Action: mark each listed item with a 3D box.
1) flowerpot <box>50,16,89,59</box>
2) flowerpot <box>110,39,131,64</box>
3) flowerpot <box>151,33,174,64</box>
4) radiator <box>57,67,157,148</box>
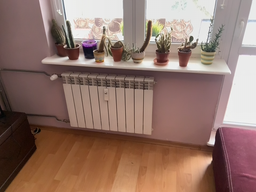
[{"bbox_3d":[-0.510,-0.520,1.880,0.240,0.320,0.170,6,31,12],"label":"flowerpot"},{"bbox_3d":[-0.060,-0.380,1.800,0.140,0.170,0.130,8,31,15],"label":"flowerpot"},{"bbox_3d":[0.280,-0.400,1.750,0.160,0.190,0.220,3,30,6],"label":"flowerpot"},{"bbox_3d":[-0.180,0.110,1.960,0.840,0.680,0.150,6,31,12],"label":"radiator"}]
